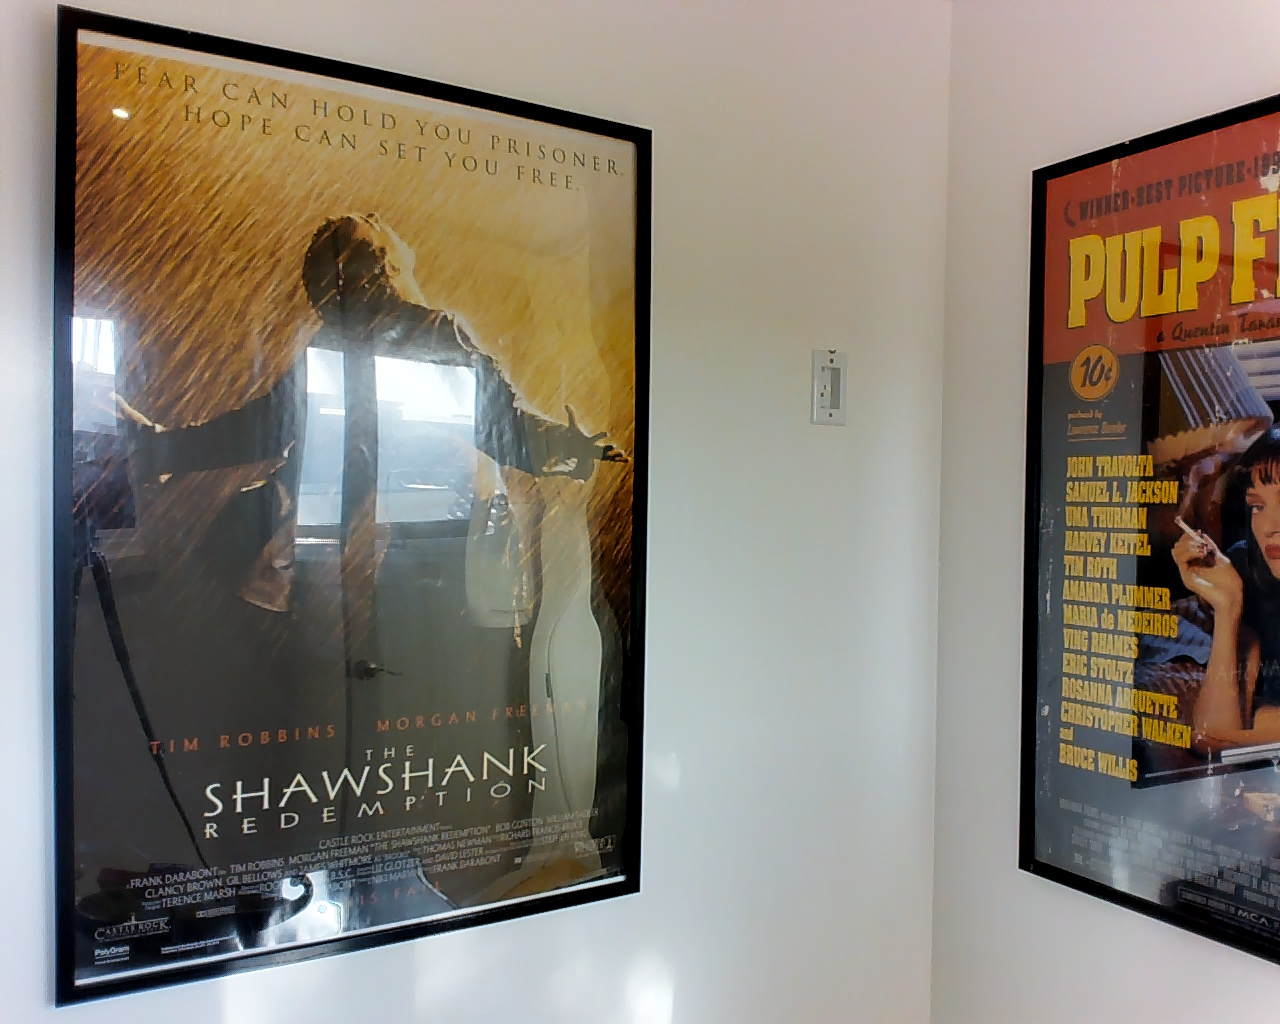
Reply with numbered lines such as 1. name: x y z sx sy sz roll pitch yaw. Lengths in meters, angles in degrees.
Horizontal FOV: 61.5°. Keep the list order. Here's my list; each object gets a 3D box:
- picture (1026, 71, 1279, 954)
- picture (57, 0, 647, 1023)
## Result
1. picture: 0.780 0.000 1.320 0.020 1.070 0.720 0 1 -30
2. picture: -0.310 0.000 1.320 0.710 1.080 0.040 0 1 -30
